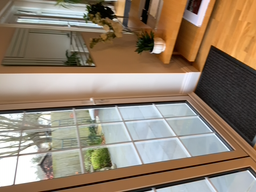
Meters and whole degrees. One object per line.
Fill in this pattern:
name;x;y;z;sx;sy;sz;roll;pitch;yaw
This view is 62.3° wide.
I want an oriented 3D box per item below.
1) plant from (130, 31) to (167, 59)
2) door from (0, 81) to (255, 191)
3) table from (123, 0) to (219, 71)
plant;0.190;-0.490;2.020;0.270;0.240;0.160;-118;32;-50
door;0.050;0.590;1.020;2.370;2.100;0.160;-120;33;-52
table;0.370;-0.920;2.380;1.200;0.400;0.790;-118;32;-50
